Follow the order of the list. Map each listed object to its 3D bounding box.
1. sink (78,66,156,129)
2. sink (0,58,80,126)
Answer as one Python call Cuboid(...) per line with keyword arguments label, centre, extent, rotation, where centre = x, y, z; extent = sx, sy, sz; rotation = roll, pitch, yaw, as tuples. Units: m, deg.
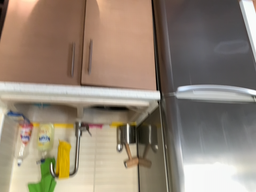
Cuboid(label="sink", centre=(-0.110, 0.050, 1.370), extent=(0.400, 0.190, 0.590), rotation=(3, 159, -11))
Cuboid(label="sink", centre=(-0.500, 0.020, 1.280), extent=(0.400, 0.190, 0.590), rotation=(3, 159, -11))
